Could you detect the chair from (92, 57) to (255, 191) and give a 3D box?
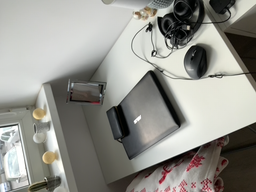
[{"bbox_3d":[0.330,0.180,1.130,0.440,0.780,0.600,-42,63,47],"label":"chair"}]
